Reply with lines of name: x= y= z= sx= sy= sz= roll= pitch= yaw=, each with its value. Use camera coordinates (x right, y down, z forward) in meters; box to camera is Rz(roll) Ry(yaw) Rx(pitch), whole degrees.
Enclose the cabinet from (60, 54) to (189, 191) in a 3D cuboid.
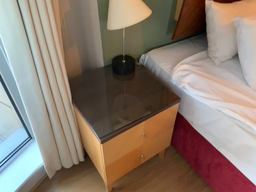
cabinet: x=-0.040 y=0.170 z=1.440 sx=0.560 sy=0.600 sz=0.530 roll=-22 pitch=47 yaw=-22
